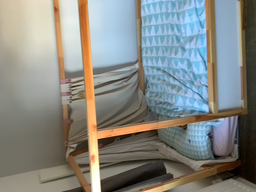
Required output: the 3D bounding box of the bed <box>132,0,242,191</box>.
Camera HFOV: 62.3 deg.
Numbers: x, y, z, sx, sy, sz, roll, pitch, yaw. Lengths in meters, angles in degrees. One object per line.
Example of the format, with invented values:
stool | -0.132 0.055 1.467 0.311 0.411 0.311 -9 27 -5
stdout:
bed | 0.430 -0.480 1.900 1.070 0.300 2.180 -169 75 -65
